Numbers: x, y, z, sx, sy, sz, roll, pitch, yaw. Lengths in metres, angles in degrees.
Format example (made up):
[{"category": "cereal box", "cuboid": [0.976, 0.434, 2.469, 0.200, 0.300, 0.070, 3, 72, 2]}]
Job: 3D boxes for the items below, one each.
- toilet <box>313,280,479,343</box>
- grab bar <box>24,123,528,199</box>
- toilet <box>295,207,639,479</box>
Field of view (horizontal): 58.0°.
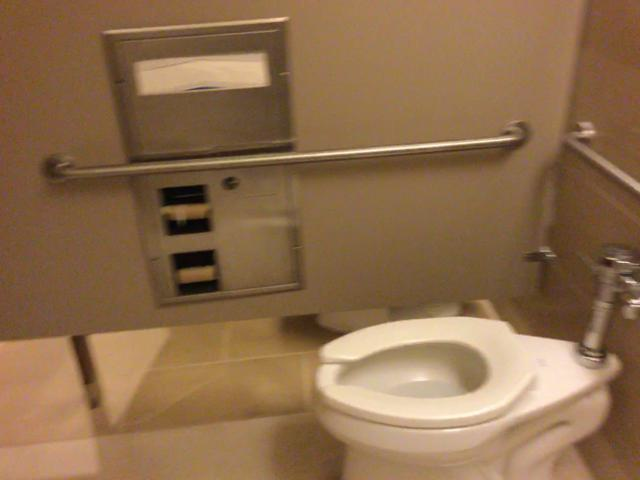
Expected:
[{"category": "toilet", "cuboid": [0.280, 0.270, 2.210, 0.600, 0.110, 0.180, -4, 26, -2]}, {"category": "grab bar", "cuboid": [-0.100, -0.210, 1.510, 1.270, 0.090, 0.080, -4, 26, -2]}, {"category": "toilet", "cuboid": [0.340, 0.360, 1.370, 0.740, 0.730, 0.390, -4, 26, -2]}]
